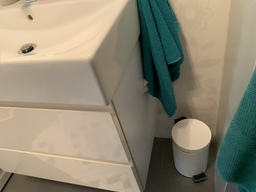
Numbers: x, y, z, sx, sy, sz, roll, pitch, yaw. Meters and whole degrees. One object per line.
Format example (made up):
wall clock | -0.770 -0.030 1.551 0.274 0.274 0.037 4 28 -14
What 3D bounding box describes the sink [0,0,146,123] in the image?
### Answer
sink | -0.360 -0.160 0.700 0.760 0.180 0.440 1 45 16
